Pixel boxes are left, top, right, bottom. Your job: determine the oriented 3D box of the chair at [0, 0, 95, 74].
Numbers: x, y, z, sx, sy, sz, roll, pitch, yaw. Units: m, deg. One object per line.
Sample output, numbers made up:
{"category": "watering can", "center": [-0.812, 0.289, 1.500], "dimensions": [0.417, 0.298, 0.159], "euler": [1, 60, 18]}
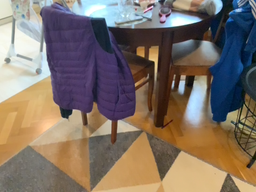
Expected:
{"category": "chair", "center": [-0.930, -0.960, 2.360], "dimensions": [0.580, 0.990, 0.920], "euler": [18, 43, 22]}
